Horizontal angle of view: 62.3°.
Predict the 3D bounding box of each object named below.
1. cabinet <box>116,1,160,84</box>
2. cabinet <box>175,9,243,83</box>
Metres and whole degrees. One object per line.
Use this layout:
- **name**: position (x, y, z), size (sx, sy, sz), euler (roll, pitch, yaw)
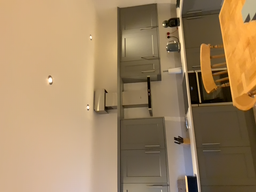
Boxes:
- **cabinet**: position (0.180, -1.050, 4.140), size (0.330, 0.770, 1.560), euler (62, -155, -70)
- **cabinet**: position (1.350, -0.850, 3.740), size (0.600, 0.880, 1.040), euler (62, -155, -70)
